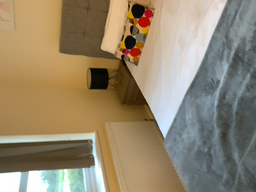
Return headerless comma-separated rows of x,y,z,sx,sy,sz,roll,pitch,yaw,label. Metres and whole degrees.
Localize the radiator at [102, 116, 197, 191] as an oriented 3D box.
0.190,0.650,1.970,1.300,0.650,0.080,-114,32,-50,radiator
